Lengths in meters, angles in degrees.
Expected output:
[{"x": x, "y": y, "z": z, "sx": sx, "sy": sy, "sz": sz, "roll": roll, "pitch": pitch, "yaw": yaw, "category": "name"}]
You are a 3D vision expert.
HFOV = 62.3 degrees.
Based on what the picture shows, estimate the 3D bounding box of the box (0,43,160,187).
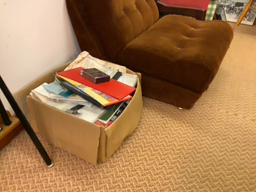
[{"x": -0.240, "y": 0.050, "z": 1.230, "sx": 0.620, "sy": 0.360, "sz": 0.560, "roll": 23, "pitch": 44, "yaw": 21, "category": "box"}]

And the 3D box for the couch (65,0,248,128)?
[{"x": 0.220, "y": -0.470, "z": 1.480, "sx": 0.950, "sy": 0.760, "sz": 0.770, "roll": 21, "pitch": 44, "yaw": 20, "category": "couch"}]
